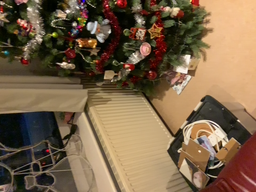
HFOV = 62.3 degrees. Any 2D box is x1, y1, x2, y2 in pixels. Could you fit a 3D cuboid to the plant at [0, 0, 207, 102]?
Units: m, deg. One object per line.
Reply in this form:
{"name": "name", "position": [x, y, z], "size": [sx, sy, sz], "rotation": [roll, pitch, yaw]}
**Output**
{"name": "plant", "position": [-0.460, -0.560, 1.470], "size": [1.100, 1.690, 1.160], "rotation": [-2, 90, 54]}
